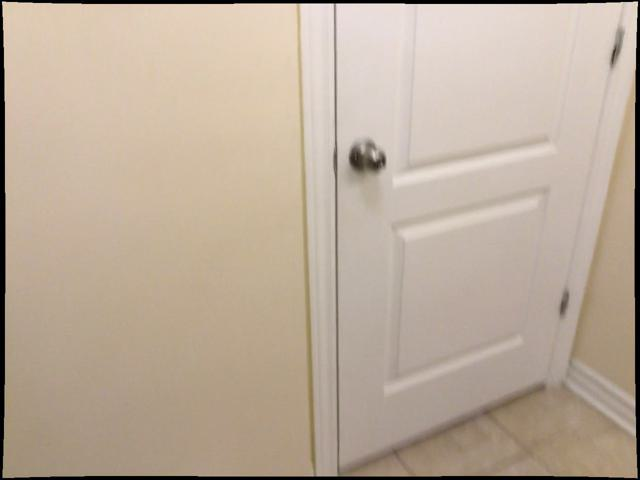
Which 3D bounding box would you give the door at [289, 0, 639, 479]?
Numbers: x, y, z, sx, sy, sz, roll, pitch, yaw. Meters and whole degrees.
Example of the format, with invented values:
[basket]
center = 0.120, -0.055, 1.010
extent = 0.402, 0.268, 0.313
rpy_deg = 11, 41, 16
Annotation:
[door]
center = 0.400, -0.390, 1.250
extent = 0.969, 2.112, 0.080
rpy_deg = -14, 30, -23
